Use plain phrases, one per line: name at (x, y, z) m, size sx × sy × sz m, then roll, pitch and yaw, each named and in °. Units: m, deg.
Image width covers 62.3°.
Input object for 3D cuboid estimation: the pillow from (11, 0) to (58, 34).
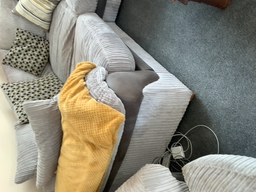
pillow at (-0.880, -0.900, 1.970) m, size 0.550 × 0.300 × 0.330 m, roll -38°, pitch 63°, yaw 50°
